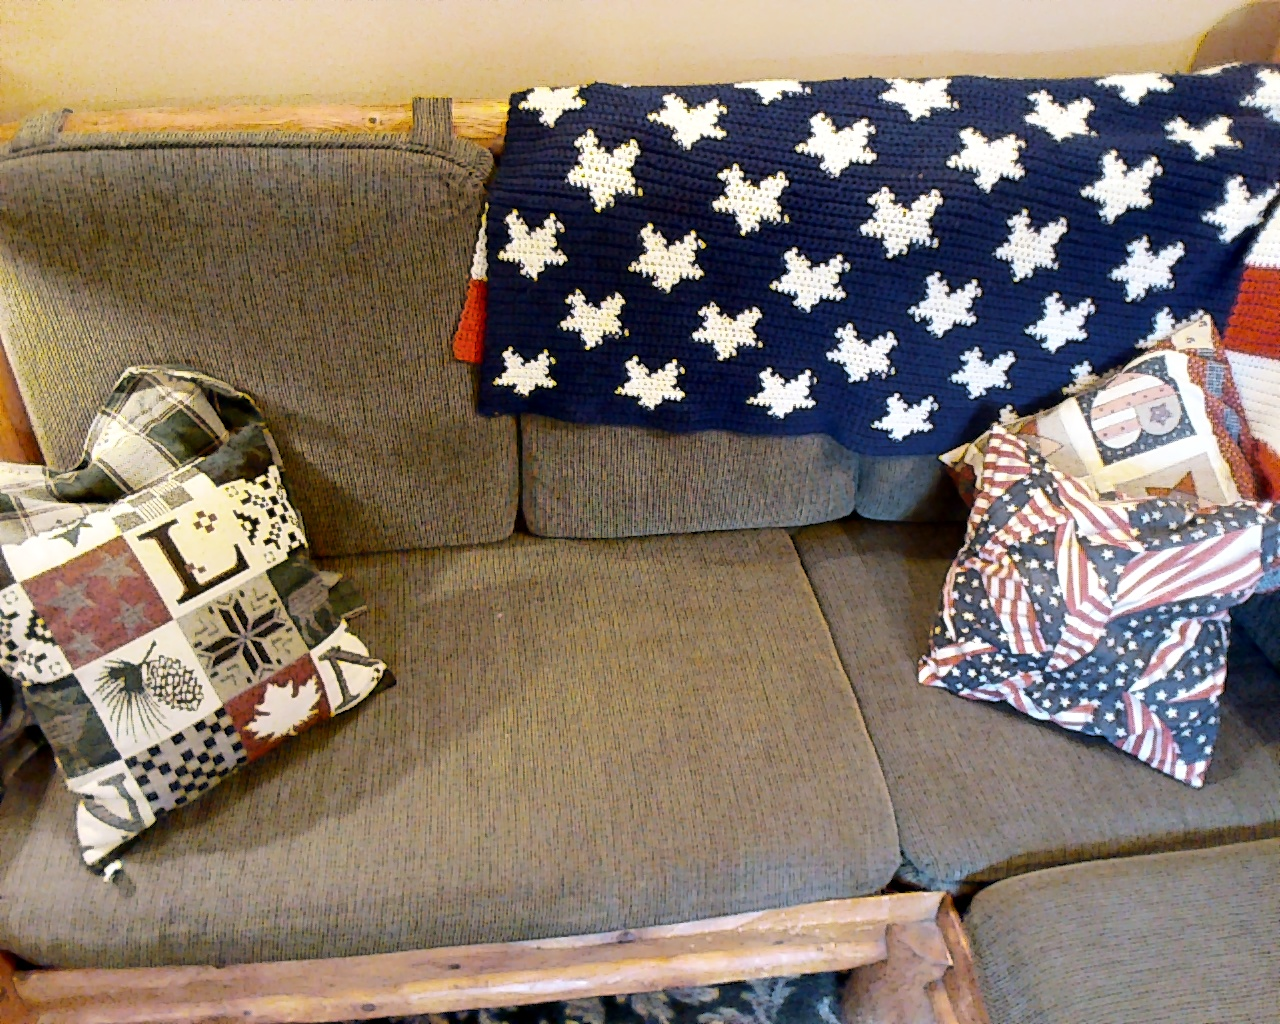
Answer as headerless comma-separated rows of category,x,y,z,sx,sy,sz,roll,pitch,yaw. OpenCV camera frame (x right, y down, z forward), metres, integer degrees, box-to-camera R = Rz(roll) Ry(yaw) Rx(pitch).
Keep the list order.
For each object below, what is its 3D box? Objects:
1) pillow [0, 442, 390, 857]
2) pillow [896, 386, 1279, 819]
pillow,-0.570,0.150,1.270,0.360,0.400,0.210,-13,57,-51
pillow,0.610,0.100,1.390,0.430,0.280,0.350,18,45,16
